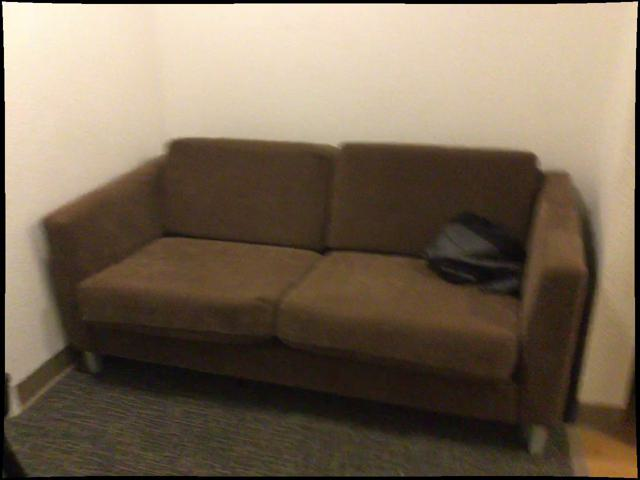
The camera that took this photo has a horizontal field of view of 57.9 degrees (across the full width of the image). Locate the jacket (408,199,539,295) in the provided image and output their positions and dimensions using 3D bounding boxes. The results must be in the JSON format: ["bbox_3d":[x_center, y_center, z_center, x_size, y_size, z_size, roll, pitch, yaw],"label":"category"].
[{"bbox_3d":[0.499,0.010,1.880,0.370,0.170,0.270,7,28,20],"label":"jacket"}]

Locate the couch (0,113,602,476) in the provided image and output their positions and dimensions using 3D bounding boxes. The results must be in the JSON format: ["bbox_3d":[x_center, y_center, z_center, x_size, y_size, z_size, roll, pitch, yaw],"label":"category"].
[{"bbox_3d":[-0.030,0.020,2.070,1.758,0.651,0.960,7,28,20],"label":"couch"}]
